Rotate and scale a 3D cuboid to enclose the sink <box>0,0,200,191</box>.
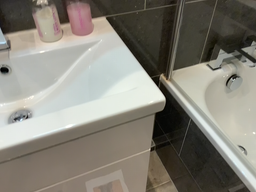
[{"bbox_3d":[-0.250,-0.010,0.440,0.630,0.160,0.390,-14,46,-14],"label":"sink"}]

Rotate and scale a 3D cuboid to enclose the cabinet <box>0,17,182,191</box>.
[{"bbox_3d":[-0.260,0.250,0.690,0.600,0.790,0.390,-14,46,-14],"label":"cabinet"}]
